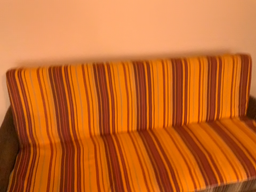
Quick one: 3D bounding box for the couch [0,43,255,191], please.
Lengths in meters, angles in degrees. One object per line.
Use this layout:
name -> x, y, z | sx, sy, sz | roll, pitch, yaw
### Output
couch -> 0.130, 0.250, 1.600 | 2.120, 0.930, 0.960 | -5, 32, -12
